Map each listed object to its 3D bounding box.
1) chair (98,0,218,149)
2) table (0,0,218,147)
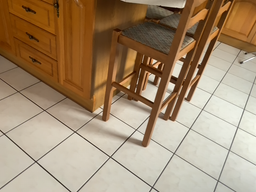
[{"bbox_3d":[0.140,-0.210,1.330,0.410,0.970,0.410,30,41,22],"label":"chair"},{"bbox_3d":[-0.510,-0.690,1.820,2.080,0.900,0.930,29,41,21],"label":"table"}]
